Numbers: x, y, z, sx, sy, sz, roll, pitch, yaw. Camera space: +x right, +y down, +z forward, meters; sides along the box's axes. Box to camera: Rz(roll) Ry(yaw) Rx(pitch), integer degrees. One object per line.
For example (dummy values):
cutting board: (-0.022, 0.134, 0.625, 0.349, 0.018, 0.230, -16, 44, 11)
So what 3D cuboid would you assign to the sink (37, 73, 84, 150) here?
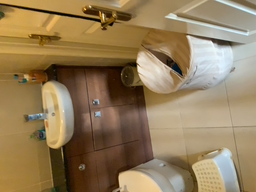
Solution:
sink: (-0.510, 0.120, 1.550, 0.400, 0.150, 0.490, -13, 84, 53)

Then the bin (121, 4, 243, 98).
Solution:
bin: (0.320, -0.220, 1.250, 0.390, 0.550, 0.370, -13, 84, 53)

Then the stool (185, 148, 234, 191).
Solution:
stool: (0.540, 0.540, 1.400, 0.230, 0.140, 0.350, -12, 85, 53)
